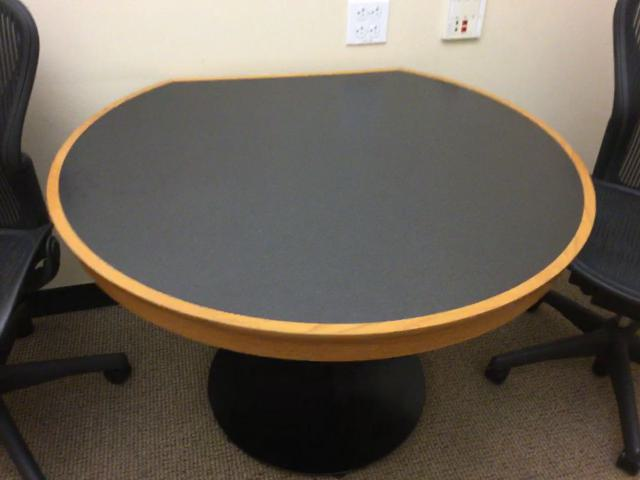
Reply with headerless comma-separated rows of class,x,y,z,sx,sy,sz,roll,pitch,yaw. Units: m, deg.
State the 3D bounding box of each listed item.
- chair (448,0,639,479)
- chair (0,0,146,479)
chair,0.830,-0.060,1.380,0.710,1.040,0.710,17,38,23
chair,-0.820,0.040,1.240,0.650,1.030,0.700,-5,35,-8
